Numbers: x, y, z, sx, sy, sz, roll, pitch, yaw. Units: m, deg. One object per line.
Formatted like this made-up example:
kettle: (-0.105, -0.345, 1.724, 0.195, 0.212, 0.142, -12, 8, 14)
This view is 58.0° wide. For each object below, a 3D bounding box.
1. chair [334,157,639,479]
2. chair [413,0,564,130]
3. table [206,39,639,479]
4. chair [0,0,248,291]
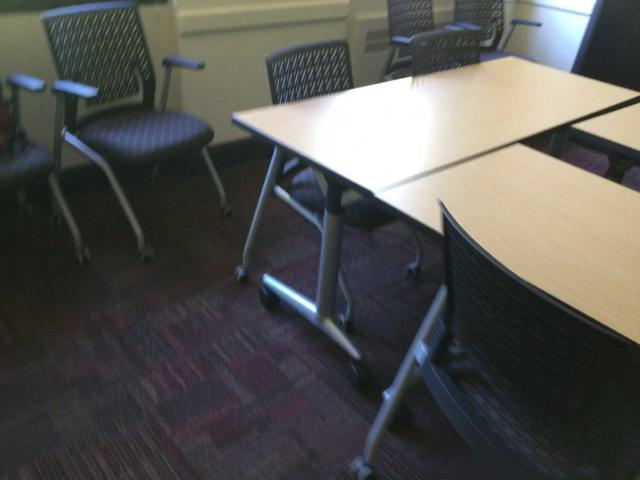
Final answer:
chair: (0.440, 0.340, 1.230, 0.550, 0.770, 0.640, -12, 35, -23)
chair: (1.020, -1.190, 3.560, 0.600, 0.800, 0.500, -16, 37, -28)
table: (1.500, 0.550, 1.020, 1.490, 0.750, 4.080, -21, 39, -33)
chair: (-0.710, -0.420, 2.240, 0.560, 0.900, 0.640, 21, 36, 27)
